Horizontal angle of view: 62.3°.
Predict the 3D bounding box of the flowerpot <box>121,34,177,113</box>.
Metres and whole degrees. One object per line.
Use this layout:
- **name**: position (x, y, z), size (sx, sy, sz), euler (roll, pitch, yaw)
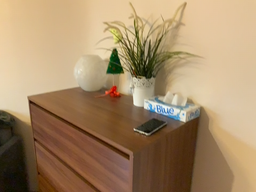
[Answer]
- **flowerpot**: position (0.090, -0.120, 1.020), size (0.130, 0.330, 0.220), euler (-14, 23, -42)
